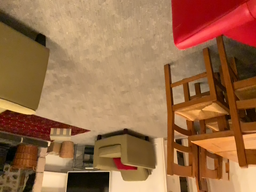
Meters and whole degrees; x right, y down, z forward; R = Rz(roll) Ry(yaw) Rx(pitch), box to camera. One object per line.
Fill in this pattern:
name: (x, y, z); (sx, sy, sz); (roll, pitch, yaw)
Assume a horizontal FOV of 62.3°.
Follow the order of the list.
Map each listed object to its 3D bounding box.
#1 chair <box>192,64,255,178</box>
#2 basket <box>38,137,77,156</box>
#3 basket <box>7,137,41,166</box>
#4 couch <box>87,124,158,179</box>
chair: (0.980, 0.260, 1.970); (0.500, 0.900, 0.410); (-20, 149, 33)
basket: (-1.470, 1.070, 4.430); (0.560, 0.260, 0.510); (-18, 150, 33)
basket: (-1.910, 1.030, 3.900); (0.400, 0.430, 0.340); (-19, 150, 34)
couch: (-0.090, 1.080, 3.910); (0.800, 0.780, 0.990); (-20, 150, 34)
